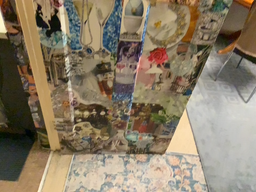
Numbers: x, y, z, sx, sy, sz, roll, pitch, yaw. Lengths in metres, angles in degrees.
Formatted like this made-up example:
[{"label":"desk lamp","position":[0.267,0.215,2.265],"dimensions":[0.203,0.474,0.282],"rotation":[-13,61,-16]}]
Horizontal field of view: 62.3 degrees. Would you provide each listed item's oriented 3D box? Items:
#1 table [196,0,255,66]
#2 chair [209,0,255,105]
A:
[{"label":"table","position":[1.610,-1.000,2.780],"dimensions":[1.030,0.780,0.960],"rotation":[7,44,-3]},{"label":"chair","position":[1.280,-0.490,2.010],"dimensions":[0.570,0.970,0.410],"rotation":[-29,56,-33]}]
